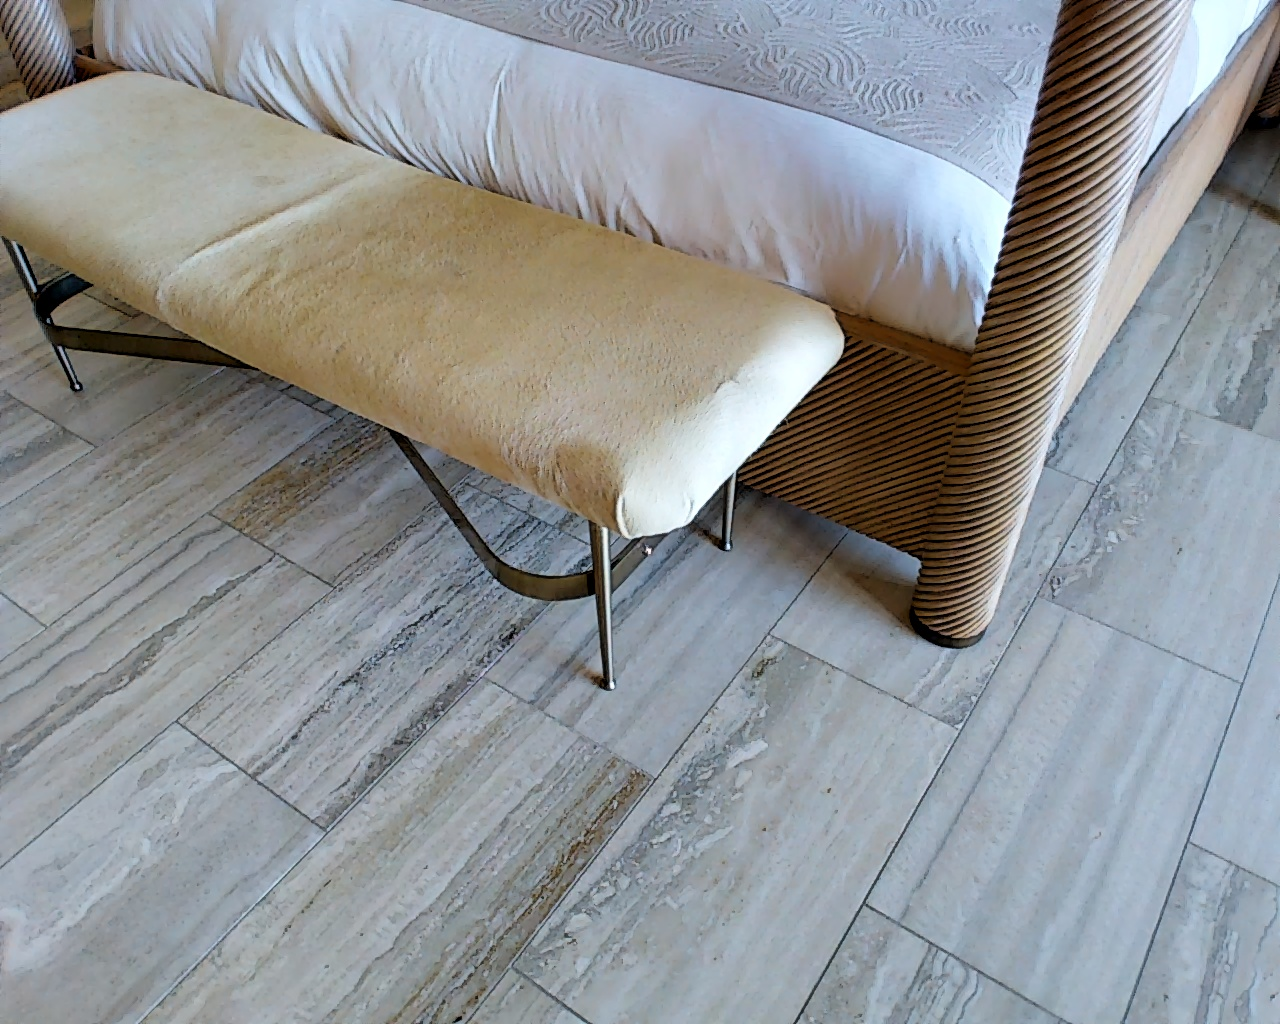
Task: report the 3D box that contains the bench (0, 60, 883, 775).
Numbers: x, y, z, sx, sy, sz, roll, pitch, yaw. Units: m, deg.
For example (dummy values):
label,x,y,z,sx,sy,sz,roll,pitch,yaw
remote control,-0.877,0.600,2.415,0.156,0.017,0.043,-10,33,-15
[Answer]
label,x,y,z,sx,sy,sz,roll,pitch,yaw
bench,-0.460,-0.260,1.760,1.560,0.480,0.500,25,49,25
